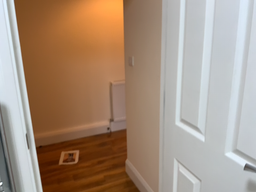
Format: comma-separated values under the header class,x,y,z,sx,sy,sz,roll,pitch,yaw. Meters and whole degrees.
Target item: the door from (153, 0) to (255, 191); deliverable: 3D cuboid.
class,x,y,z,sx,sy,sz,roll,pitch,yaw
door,0.290,0.170,0.850,0.020,2.000,0.720,-8,17,-22
